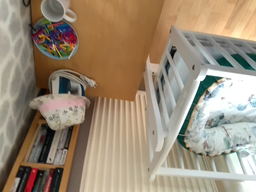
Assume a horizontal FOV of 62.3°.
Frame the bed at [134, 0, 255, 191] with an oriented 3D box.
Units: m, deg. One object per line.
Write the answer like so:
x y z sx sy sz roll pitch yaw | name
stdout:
0.610 -0.070 1.050 1.010 0.830 0.570 10 128 -10 | bed
